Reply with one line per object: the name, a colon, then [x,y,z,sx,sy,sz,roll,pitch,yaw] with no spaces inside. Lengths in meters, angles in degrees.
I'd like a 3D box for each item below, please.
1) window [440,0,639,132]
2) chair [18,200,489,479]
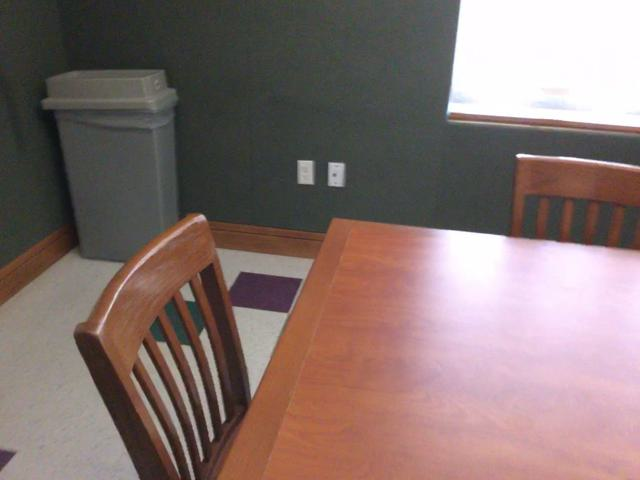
window: [1.250,-0.860,2.290,1.430,0.830,0.140,4,25,7]
chair: [-0.060,0.450,1.100,0.560,0.880,0.540,4,25,7]
